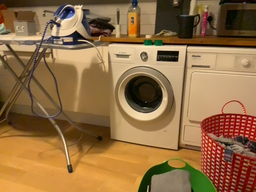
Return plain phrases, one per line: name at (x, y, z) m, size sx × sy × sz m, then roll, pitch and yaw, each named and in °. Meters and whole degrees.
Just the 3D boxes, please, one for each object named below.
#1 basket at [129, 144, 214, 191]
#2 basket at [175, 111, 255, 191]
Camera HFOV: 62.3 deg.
basket at (0.190, 0.550, 1.030) m, size 0.370 × 0.320 × 0.620 m, roll 1°, pitch 20°, yaw 2°
basket at (0.600, 0.400, 1.290) m, size 0.440 × 0.430 × 0.550 m, roll -1°, pitch 20°, yaw -4°
